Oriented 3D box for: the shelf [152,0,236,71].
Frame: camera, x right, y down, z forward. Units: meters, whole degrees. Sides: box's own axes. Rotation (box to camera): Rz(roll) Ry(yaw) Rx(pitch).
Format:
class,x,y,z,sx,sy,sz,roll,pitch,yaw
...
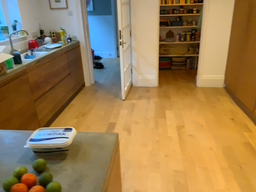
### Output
class,x,y,z,sx,sy,sz,roll,pitch,yaw
shelf,1.460,-1.520,4.980,1.750,1.830,0.300,1,23,7
